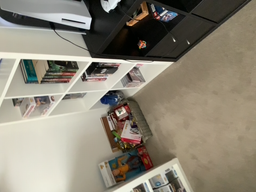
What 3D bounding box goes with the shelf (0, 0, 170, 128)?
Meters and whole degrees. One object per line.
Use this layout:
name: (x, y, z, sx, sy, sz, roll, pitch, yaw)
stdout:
shelf: (-0.530, -0.200, 1.370, 0.820, 1.450, 0.440, -39, 68, 40)
